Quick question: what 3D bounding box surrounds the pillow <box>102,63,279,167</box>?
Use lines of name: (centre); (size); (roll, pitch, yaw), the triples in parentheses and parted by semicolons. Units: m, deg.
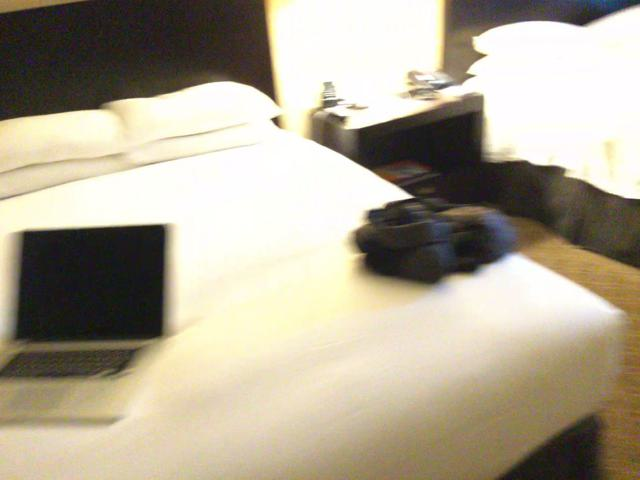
pillow: (-0.530, -0.530, 2.360); (0.600, 0.200, 0.370); (-23, 28, -19)

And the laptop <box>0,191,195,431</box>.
laptop: (-0.510, 0.130, 1.140); (0.370, 0.210, 0.410); (-13, 29, 13)

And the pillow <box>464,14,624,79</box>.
pillow: (1.160, -1.020, 3.010); (0.650, 0.140, 0.440); (-23, 28, -19)

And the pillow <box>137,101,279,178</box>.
pillow: (-0.470, -0.430, 2.400); (0.490, 0.110, 0.360); (-23, 28, -19)

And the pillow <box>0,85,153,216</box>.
pillow: (-1.040, -0.340, 2.180); (0.670, 0.260, 0.420); (-23, 28, -19)

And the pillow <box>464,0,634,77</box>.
pillow: (1.190, -1.100, 3.010); (0.730, 0.260, 0.420); (-23, 28, -19)
